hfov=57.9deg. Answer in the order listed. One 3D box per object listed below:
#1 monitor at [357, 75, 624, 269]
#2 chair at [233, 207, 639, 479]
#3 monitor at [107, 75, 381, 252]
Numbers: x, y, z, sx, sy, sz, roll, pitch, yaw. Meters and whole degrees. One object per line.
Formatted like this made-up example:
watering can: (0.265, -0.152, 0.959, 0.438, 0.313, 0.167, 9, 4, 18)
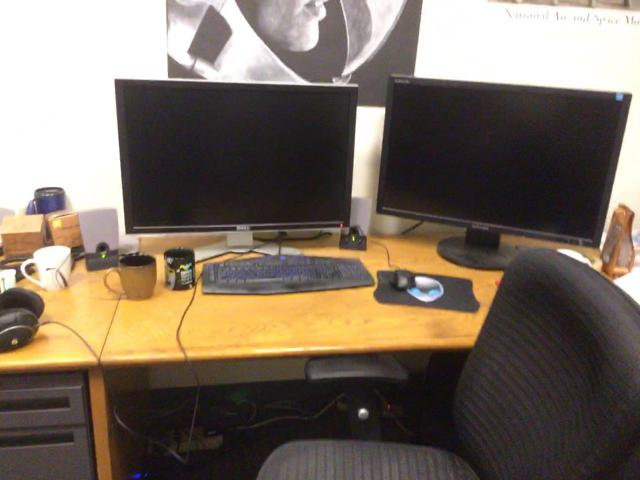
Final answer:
monitor: (0.490, -0.230, 1.780, 0.690, 0.490, 0.210, 9, 20, 18)
chair: (0.170, 0.530, 1.170, 0.630, 1.040, 0.670, -2, 19, -12)
monitor: (-0.210, -0.220, 1.700, 0.740, 0.480, 0.110, -2, 19, -12)
